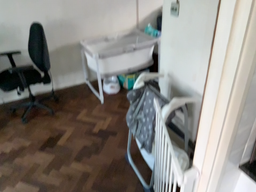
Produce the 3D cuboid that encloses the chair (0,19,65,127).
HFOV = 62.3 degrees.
[{"bbox_3d":[-1.280,-0.310,2.620,0.660,1.030,0.680,-17,35,-21],"label":"chair"}]
